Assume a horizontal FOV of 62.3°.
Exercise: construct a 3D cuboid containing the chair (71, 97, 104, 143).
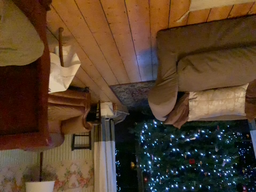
[{"bbox_3d":[-0.760,0.460,3.900,0.410,0.750,0.430,10,159,-43],"label":"chair"}]
